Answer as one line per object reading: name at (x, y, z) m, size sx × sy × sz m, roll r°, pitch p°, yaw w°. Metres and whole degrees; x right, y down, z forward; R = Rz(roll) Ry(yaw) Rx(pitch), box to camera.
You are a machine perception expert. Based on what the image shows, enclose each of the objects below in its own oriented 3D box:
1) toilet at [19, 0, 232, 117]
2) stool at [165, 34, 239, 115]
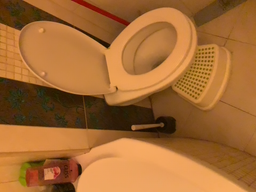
toilet at (0.050, -0.210, 1.000) m, size 0.520 × 0.850 × 0.410 m, roll -26°, pitch 66°, yaw 32°
stool at (0.400, -0.120, 1.160) m, size 0.240 × 0.150 × 0.370 m, roll 22°, pitch 95°, yaw 39°
